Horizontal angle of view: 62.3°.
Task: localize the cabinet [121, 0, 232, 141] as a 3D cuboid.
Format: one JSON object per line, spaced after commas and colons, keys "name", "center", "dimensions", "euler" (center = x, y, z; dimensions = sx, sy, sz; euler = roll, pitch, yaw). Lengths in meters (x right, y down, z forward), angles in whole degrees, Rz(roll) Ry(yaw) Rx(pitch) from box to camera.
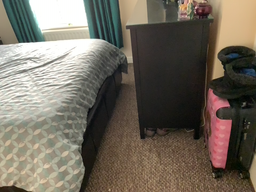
{"name": "cabinet", "center": [0.410, -0.480, 2.140], "dimensions": [0.620, 0.950, 1.630], "euler": [-1, 33, 9]}
